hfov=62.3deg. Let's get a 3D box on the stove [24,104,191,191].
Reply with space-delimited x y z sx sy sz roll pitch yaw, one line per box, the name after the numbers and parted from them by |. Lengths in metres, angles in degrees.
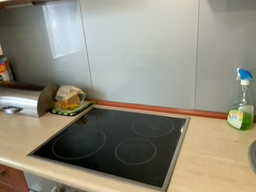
-0.050 0.180 0.950 0.580 0.030 0.500 6 24 23 | stove
